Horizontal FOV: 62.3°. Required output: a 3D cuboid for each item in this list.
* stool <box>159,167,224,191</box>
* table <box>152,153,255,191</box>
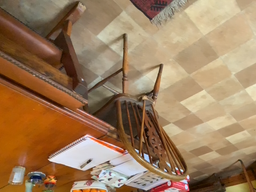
[{"bbox_3d":[1.100,1.560,3.750,1.000,0.240,0.390,-29,135,27],"label":"stool"},{"bbox_3d":[1.240,1.640,3.390,1.570,0.840,0.610,-32,134,30],"label":"table"}]
